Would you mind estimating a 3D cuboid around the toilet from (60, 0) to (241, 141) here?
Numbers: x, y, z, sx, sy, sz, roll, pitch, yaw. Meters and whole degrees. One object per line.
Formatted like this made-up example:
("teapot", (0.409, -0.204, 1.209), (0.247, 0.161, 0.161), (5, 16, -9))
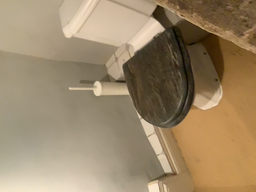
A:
("toilet", (0.130, -0.170, 1.130), (0.390, 0.770, 0.660), (-32, 64, 41))
